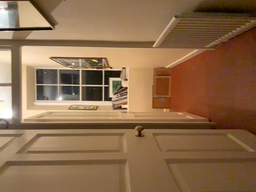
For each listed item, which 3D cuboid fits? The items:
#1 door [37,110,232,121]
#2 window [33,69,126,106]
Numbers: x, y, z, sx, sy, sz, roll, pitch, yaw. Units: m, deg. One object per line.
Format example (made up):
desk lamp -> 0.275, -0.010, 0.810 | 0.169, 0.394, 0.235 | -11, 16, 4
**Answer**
door -> 0.060, 0.210, 2.390 | 0.780, 1.840, 0.030 | -154, 64, -87
window -> -0.950, -0.170, 4.240 | 0.060, 1.820, 0.730 | -141, 51, -87
